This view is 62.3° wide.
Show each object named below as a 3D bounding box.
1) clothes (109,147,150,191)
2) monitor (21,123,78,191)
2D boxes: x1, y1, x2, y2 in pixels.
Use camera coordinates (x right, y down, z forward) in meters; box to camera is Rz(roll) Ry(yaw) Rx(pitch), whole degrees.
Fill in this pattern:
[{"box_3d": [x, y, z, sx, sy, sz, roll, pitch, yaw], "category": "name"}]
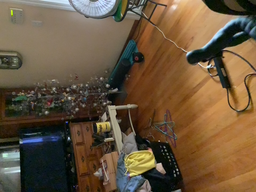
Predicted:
[{"box_3d": [-0.010, 0.880, 2.270, 0.450, 0.170, 0.460, 57, 140, 45], "category": "clothes"}, {"box_3d": [-1.110, 0.970, 2.990, 0.060, 0.660, 1.200, -54, 46, 51], "category": "monitor"}]
